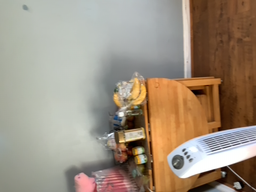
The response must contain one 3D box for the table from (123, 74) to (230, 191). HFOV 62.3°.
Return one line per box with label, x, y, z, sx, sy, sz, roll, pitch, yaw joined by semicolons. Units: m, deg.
table;0.390;0.310;1.680;0.360;0.720;0.910;1;96;63
